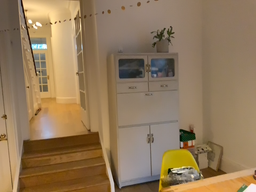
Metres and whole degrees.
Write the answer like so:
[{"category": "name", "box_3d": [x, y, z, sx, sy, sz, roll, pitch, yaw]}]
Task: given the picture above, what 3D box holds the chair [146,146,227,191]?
[{"category": "chair", "box_3d": [0.440, 0.890, 1.750, 0.470, 0.760, 0.530, -3, 7, -5]}]
